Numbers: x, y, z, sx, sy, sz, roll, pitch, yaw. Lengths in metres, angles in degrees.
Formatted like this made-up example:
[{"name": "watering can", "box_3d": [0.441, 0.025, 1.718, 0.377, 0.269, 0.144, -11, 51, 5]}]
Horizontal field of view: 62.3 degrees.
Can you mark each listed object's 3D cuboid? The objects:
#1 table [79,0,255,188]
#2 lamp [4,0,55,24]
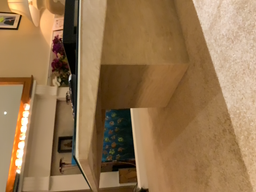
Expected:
[{"name": "table", "box_3d": [0.010, -0.310, 1.150, 0.800, 0.430, 1.390, 102, 165, -61]}, {"name": "lamp", "box_3d": [-1.290, -1.260, 2.850, 0.340, 0.500, 0.430, 103, 164, -62]}]
